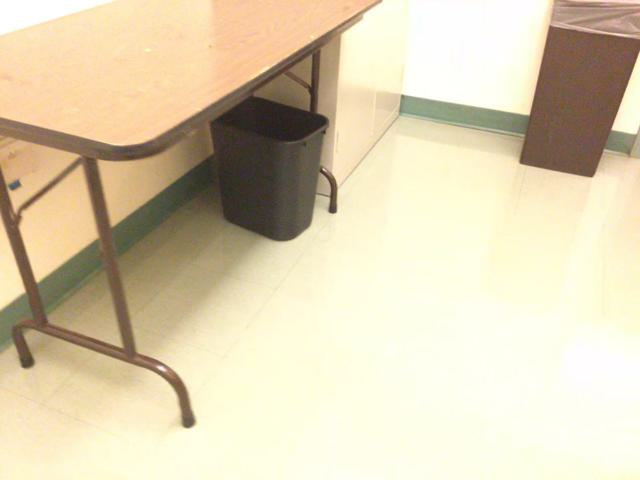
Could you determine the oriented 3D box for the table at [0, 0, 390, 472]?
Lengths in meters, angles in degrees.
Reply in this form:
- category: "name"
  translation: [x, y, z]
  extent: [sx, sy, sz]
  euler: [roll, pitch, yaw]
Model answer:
- category: "table"
  translation: [-0.330, -0.200, 1.540]
  extent: [0.640, 0.760, 1.160]
  euler: [14, 37, 21]
